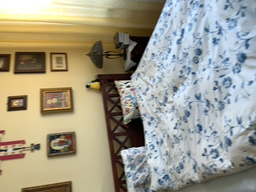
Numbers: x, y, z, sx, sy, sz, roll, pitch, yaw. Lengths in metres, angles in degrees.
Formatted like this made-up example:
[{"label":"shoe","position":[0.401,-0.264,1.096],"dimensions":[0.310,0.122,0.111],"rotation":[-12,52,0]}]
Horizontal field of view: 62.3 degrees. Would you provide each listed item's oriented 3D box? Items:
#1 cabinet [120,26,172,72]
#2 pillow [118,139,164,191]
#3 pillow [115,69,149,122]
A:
[{"label":"cabinet","position":[0.230,-0.650,3.000],"dimensions":[0.420,0.550,0.450],"rotation":[118,145,-60]},{"label":"pillow","position":[0.120,0.800,2.230],"dimensions":[0.350,0.310,0.590],"rotation":[121,142,-62]},{"label":"pillow","position":[0.030,-0.010,2.620],"dimensions":[0.310,0.260,0.560],"rotation":[116,147,-59]}]
